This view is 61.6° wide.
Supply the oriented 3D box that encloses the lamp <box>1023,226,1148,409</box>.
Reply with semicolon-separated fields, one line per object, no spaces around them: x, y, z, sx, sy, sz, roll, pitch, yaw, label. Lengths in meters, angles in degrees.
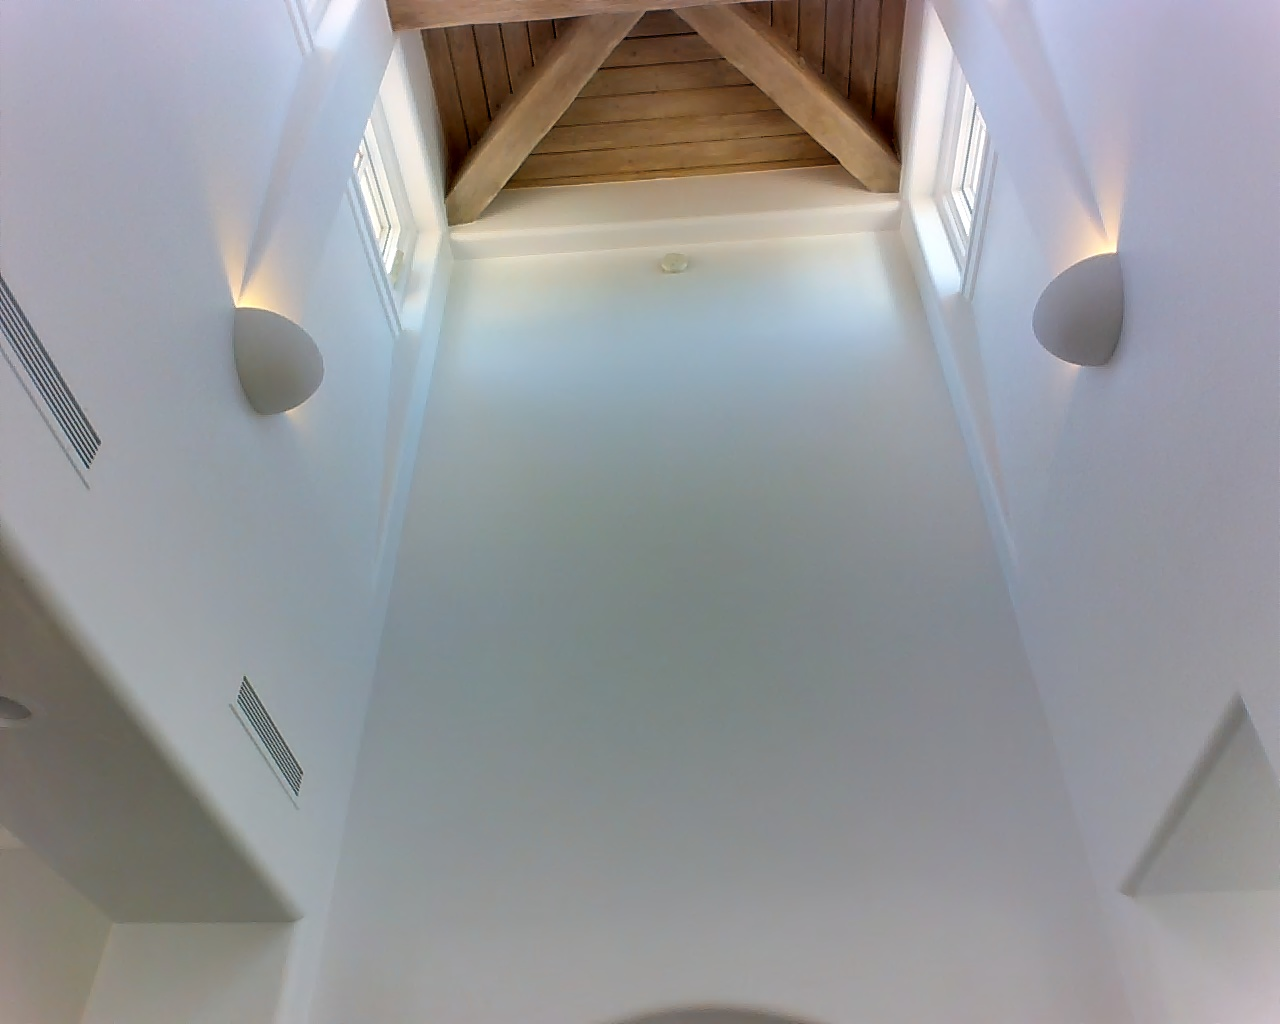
1.139;-0.500;2.780;0.170;0.290;0.350;-4;-43;4;lamp
